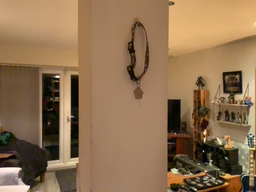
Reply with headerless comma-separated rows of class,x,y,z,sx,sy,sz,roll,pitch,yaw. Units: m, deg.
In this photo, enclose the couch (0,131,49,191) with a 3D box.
couch,-1.860,1.040,3.370,0.860,0.830,0.750,0,1,9
